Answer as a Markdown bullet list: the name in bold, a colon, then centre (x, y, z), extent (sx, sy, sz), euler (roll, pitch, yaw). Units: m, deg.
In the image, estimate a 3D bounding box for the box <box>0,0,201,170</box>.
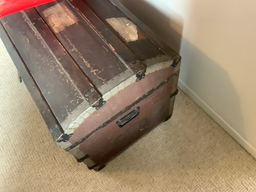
- **box**: centre (-0.240, -0.230, 1.060), extent (0.620, 0.660, 0.840), euler (-37, 64, -13)
